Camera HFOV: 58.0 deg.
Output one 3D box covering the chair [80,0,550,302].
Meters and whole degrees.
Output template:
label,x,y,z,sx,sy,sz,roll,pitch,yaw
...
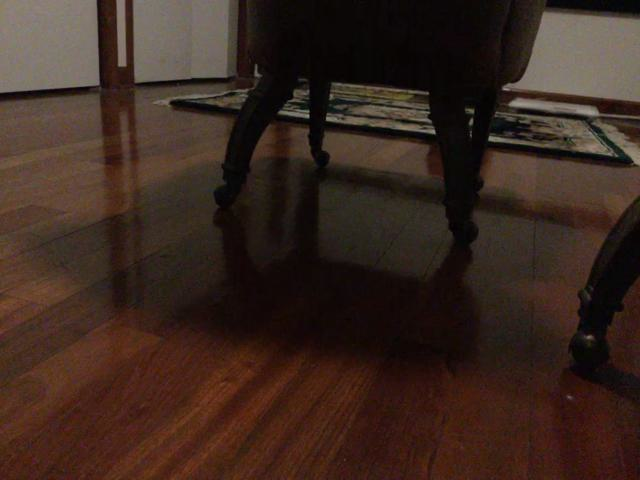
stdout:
label,x,y,z,sx,sy,sz,roll,pitch,yaw
chair,0.060,-0.450,1.090,0.680,0.810,0.670,11,20,19
